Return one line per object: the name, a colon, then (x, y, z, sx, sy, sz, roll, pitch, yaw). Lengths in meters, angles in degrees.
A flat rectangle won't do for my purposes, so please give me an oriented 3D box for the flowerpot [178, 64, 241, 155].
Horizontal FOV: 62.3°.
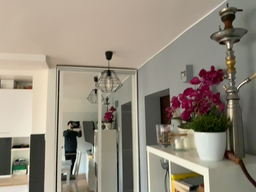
flowerpot: (0.510, 0.090, 1.380, 0.240, 0.520, 0.280, 1, -7, -15)
